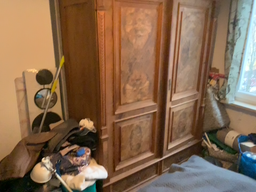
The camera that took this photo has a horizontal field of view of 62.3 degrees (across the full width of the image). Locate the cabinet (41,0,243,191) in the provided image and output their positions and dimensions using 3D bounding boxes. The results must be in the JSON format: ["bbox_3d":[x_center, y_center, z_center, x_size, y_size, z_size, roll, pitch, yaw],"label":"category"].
[{"bbox_3d":[0.190,-0.150,2.340,1.770,2.070,0.980,-13,23,-36],"label":"cabinet"}]
